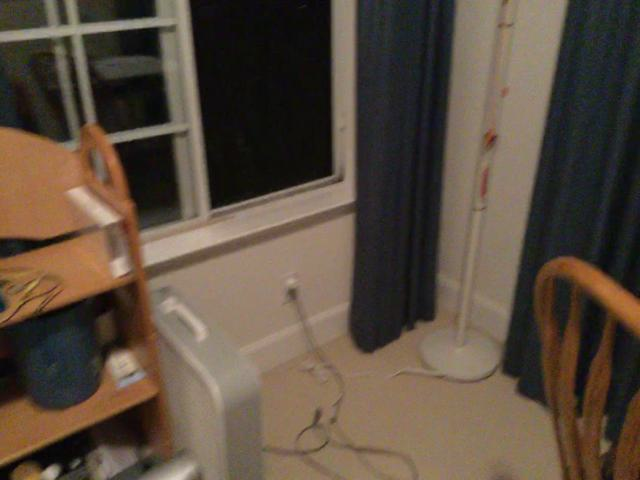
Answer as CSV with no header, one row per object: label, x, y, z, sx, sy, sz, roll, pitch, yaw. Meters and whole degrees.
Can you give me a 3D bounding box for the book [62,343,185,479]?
book,-0.480,0.480,1.420,0.160,0.310,0.320,-16,26,-33
